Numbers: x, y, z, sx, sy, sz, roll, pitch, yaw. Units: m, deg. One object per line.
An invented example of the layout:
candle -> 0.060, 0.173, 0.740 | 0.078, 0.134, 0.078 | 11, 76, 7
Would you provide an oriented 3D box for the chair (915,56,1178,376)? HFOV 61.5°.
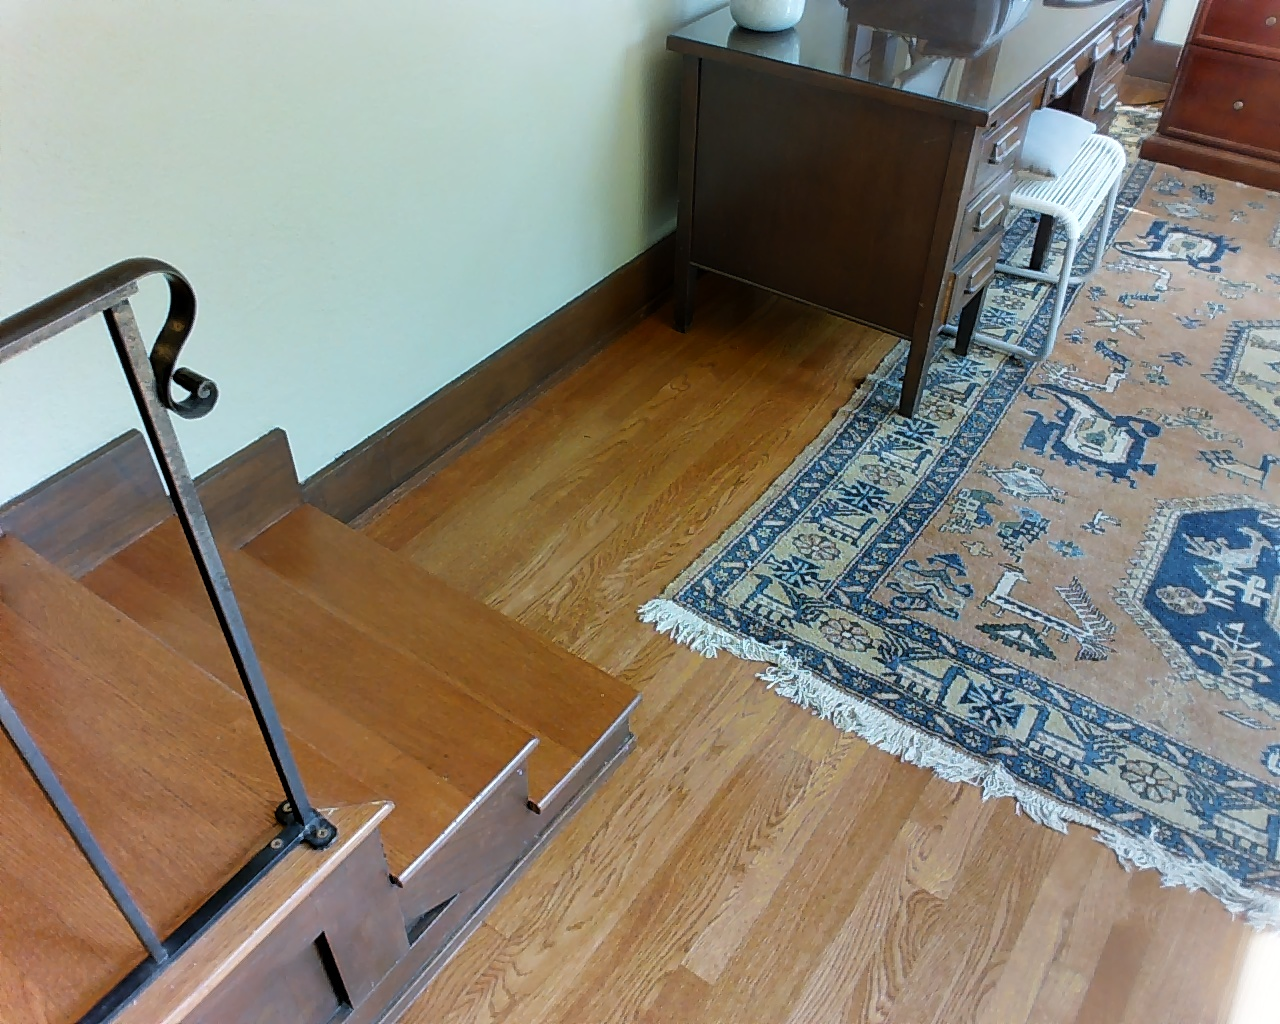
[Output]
chair -> 1.060, -0.790, 2.820 | 0.330, 0.540, 0.660 | 25, 47, 25
